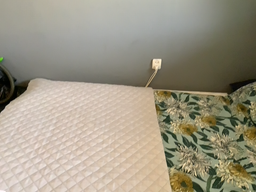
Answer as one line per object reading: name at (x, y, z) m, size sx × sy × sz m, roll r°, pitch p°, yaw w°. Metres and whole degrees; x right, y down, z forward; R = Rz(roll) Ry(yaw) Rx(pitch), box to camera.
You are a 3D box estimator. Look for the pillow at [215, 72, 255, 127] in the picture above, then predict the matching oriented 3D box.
pillow at (0.960, 0.020, 1.650) m, size 0.380 × 0.240 × 0.390 m, roll 4°, pitch 33°, yaw 0°
